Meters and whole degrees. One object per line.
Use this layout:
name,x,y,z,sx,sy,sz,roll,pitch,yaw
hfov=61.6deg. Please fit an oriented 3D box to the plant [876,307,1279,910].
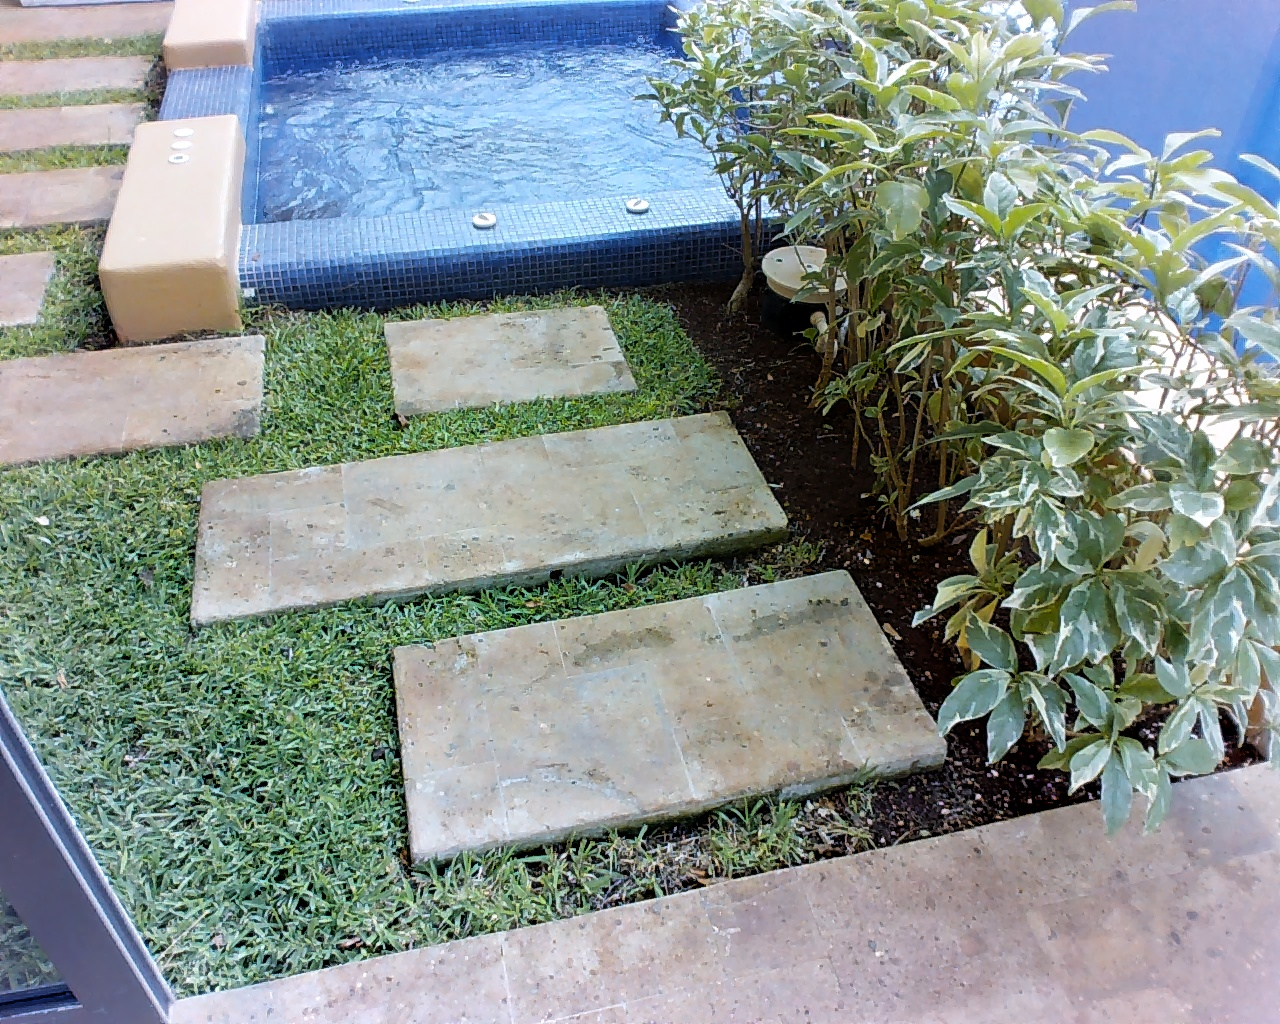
plant,0.990,0.110,1.480,1.190,0.820,0.230,-8,42,-11
